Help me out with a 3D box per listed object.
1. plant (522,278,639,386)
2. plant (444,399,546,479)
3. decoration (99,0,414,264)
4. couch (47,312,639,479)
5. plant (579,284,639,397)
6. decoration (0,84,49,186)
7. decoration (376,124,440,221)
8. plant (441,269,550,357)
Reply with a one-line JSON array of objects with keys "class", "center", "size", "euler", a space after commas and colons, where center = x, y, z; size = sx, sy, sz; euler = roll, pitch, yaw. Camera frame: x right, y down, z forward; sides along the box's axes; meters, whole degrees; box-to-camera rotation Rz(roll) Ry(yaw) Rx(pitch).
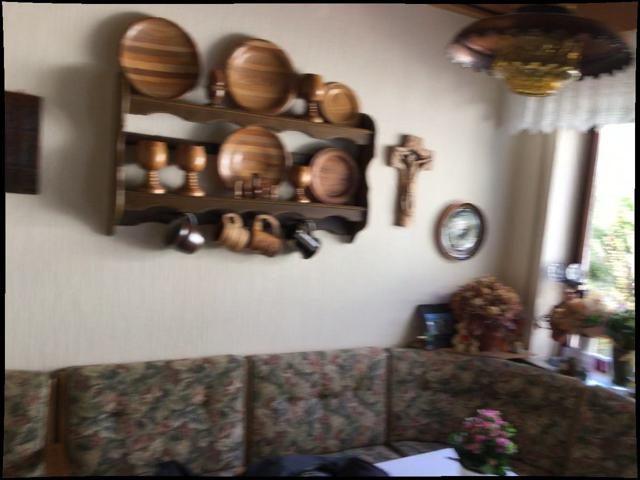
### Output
[{"class": "plant", "center": [1.219, 0.410, 2.700], "size": [0.260, 0.380, 0.390], "euler": [2, 10, -30]}, {"class": "plant", "center": [0.509, 0.621, 1.700], "size": [0.160, 0.220, 0.200], "euler": [2, 10, -30]}, {"class": "decoration", "center": [-0.200, -0.340, 2.210], "size": [1.149, 0.841, 0.160], "euler": [2, 10, -30]}, {"class": "couch", "center": [0.430, 0.951, 1.960], "size": [2.338, 0.921, 1.540], "euler": [2, 10, -30]}, {"class": "plant", "center": [1.329, 0.430, 2.530], "size": [0.180, 0.430, 0.220], "euler": [2, 10, -30]}, {"class": "decoration", "center": [-0.959, -0.330, 1.830], "size": [0.170, 0.300, 0.040], "euler": [2, 10, -30]}, {"class": "decoration", "center": [0.400, -0.300, 2.620], "size": [0.250, 0.410, 0.060], "euler": [2, 10, -30]}, {"class": "plant", "center": [0.849, 0.340, 2.810], "size": [0.360, 0.340, 0.290], "euler": [2, 10, -30]}]
